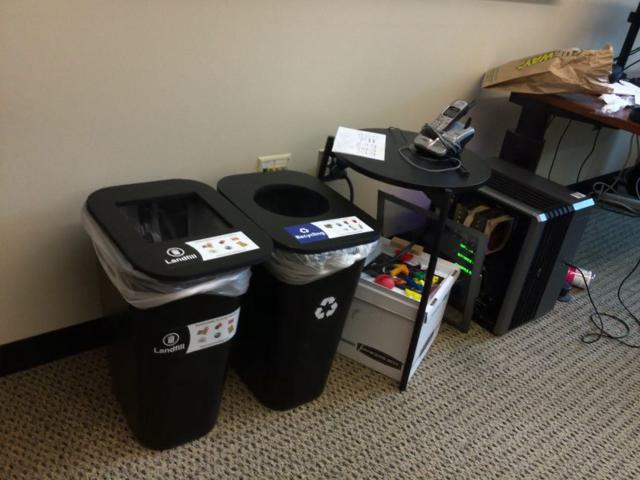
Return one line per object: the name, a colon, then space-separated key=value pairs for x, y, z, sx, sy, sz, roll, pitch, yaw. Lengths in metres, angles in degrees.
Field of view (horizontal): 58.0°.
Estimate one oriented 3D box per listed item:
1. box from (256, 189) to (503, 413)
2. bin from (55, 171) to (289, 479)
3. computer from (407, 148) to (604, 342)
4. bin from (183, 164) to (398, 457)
box: x=0.160 y=0.140 z=1.800 sx=0.490 sy=0.370 sz=0.550 roll=-17 pitch=31 yaw=-35
bin: x=-0.340 y=0.180 z=1.350 sx=0.320 sy=0.530 sz=0.460 roll=-17 pitch=31 yaw=-35
computer: x=0.630 y=-0.010 z=2.050 sx=0.370 sy=0.480 sz=0.470 roll=-17 pitch=31 yaw=-35
bin: x=-0.090 y=0.150 z=1.490 sx=0.320 sy=0.550 sz=0.430 roll=-17 pitch=31 yaw=-35
